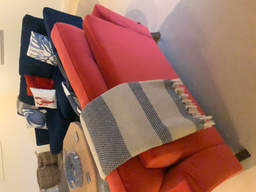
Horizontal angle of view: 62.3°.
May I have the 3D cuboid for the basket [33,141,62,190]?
[{"bbox_3d":[-1.690,1.430,4.400,0.730,0.380,0.540,63,140,31],"label":"basket"}]
